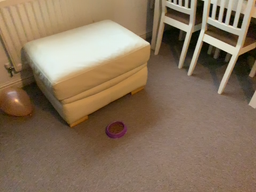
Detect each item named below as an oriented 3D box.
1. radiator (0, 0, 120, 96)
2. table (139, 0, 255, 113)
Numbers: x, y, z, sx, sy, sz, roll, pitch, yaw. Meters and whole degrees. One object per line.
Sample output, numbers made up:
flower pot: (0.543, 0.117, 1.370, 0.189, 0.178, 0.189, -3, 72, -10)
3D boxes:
radiator: (-0.520, -0.520, 1.770, 1.030, 0.750, 0.100, -28, 49, -27)
table: (0.870, -0.670, 1.950, 0.860, 0.730, 1.320, -28, 49, -27)
